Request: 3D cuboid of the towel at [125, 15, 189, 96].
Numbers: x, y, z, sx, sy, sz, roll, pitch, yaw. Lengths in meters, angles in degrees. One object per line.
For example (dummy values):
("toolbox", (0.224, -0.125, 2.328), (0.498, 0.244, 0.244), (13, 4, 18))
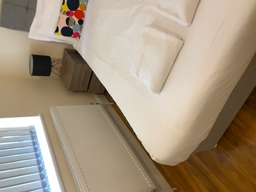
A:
("towel", (0.150, -0.250, 1.280), (0.340, 0.070, 0.370), (48, 127, 44))
